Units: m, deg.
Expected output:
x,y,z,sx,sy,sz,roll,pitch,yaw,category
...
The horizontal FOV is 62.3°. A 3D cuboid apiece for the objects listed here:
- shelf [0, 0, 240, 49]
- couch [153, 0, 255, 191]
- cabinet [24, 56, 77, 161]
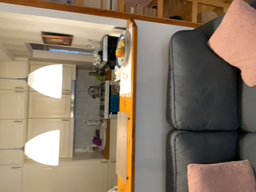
x,y,z,sx,sy,sz,roll,pitch,yaw,category
-0.010,-0.770,1.970,0.630,2.020,0.310,178,94,-72,shelf
0.750,0.510,1.370,0.900,0.850,2.150,176,96,-72,couch
-1.200,0.200,3.360,0.470,0.670,1.500,171,101,-71,cabinet
